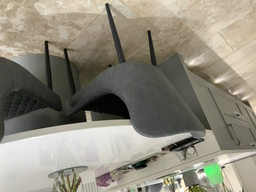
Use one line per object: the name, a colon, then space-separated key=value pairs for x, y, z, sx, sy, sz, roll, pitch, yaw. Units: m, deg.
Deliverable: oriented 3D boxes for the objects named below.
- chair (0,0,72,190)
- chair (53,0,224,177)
chair: x=-0.650 y=-0.050 z=0.930 sx=0.530 sy=0.810 sz=0.630 roll=-14 pitch=155 yaw=-4
chair: x=-0.010 y=-0.060 z=1.270 sx=0.540 sy=0.830 sz=0.630 roll=10 pitch=145 yaw=-43
